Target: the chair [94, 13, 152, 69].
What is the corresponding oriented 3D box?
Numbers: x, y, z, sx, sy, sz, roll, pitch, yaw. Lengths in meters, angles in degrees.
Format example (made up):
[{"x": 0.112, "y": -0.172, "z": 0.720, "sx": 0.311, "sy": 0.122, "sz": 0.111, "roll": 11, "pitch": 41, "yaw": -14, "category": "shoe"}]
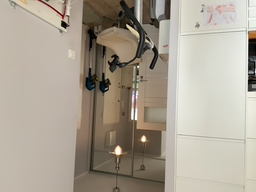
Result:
[{"x": -0.100, "y": -1.040, "z": 4.290, "sx": 0.840, "sy": 0.780, "sz": 0.770, "roll": 5, "pitch": 177, "yaw": -42, "category": "chair"}]
